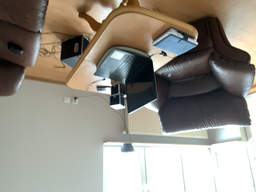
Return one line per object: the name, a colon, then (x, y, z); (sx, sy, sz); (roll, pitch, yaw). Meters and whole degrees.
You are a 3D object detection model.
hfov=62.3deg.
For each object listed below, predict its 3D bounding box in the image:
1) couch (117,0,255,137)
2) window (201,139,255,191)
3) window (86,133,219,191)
couch: (0.640, -0.150, 2.280); (1.150, 0.940, 0.950); (-13, 158, 27)
window: (1.930, 1.750, 4.000); (0.310, 1.740, 0.860); (6, 159, -24)
window: (0.580, 1.630, 3.740); (2.660, 1.810, 0.200); (8, 158, -27)
